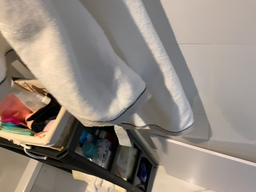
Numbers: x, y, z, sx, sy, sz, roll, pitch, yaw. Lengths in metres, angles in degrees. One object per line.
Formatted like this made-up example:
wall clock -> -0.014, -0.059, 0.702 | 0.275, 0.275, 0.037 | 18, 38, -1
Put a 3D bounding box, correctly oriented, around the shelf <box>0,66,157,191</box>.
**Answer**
shelf -> -0.150, 0.280, 1.050 | 0.370, 0.990, 0.260 | 10, 63, 24
